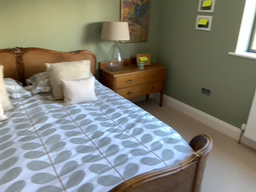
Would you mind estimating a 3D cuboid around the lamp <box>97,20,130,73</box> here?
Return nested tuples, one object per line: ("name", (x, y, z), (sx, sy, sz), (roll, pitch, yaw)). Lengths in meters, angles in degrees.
("lamp", (-0.210, -0.700, 2.940), (0.280, 0.650, 0.360), (-13, 26, -34))

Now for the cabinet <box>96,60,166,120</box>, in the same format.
("cabinet", (0.050, -0.140, 3.390), (1.020, 0.710, 0.450), (-12, 26, -33))
